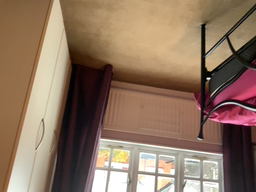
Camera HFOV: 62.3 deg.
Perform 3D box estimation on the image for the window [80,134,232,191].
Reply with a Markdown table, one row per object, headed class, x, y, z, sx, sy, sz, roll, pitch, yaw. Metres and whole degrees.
| class | x | y | z | sx | sy | sz | roll | pitch | yaw |
| --- | --- | --- | --- | --- | --- | --- | --- | --- | --- |
| window | 0.390 | 1.200 | 2.640 | 1.920 | 1.210 | 0.160 | 9 | 162 | -9 |
